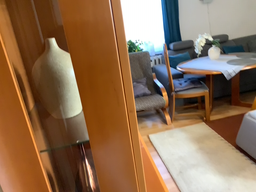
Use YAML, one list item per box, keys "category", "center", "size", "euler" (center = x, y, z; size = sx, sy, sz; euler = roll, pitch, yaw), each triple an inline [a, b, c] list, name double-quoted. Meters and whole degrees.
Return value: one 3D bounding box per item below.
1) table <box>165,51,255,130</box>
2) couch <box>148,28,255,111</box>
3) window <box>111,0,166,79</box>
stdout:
- category: "table"
  center: [1.360, -0.160, 3.150]
  size: [1.280, 0.710, 0.930]
  euler: [-12, 20, -9]
- category: "couch"
  center: [1.730, -0.580, 3.830]
  size: [2.480, 0.930, 0.900]
  euler: [-12, 20, -9]
- category: "window"
  center: [0.180, -1.360, 3.800]
  size: [0.820, 2.020, 0.160]
  euler: [-11, 20, -8]
